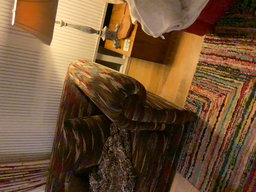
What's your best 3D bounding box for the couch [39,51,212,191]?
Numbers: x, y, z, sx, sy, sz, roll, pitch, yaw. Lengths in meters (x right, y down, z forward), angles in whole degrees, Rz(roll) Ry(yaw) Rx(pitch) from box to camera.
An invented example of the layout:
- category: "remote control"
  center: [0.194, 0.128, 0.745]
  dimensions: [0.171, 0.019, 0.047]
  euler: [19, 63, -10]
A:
- category: "couch"
  center: [-0.320, 1.000, 2.090]
  dimensions: [1.180, 0.780, 2.580]
  euler: [33, 112, 55]
